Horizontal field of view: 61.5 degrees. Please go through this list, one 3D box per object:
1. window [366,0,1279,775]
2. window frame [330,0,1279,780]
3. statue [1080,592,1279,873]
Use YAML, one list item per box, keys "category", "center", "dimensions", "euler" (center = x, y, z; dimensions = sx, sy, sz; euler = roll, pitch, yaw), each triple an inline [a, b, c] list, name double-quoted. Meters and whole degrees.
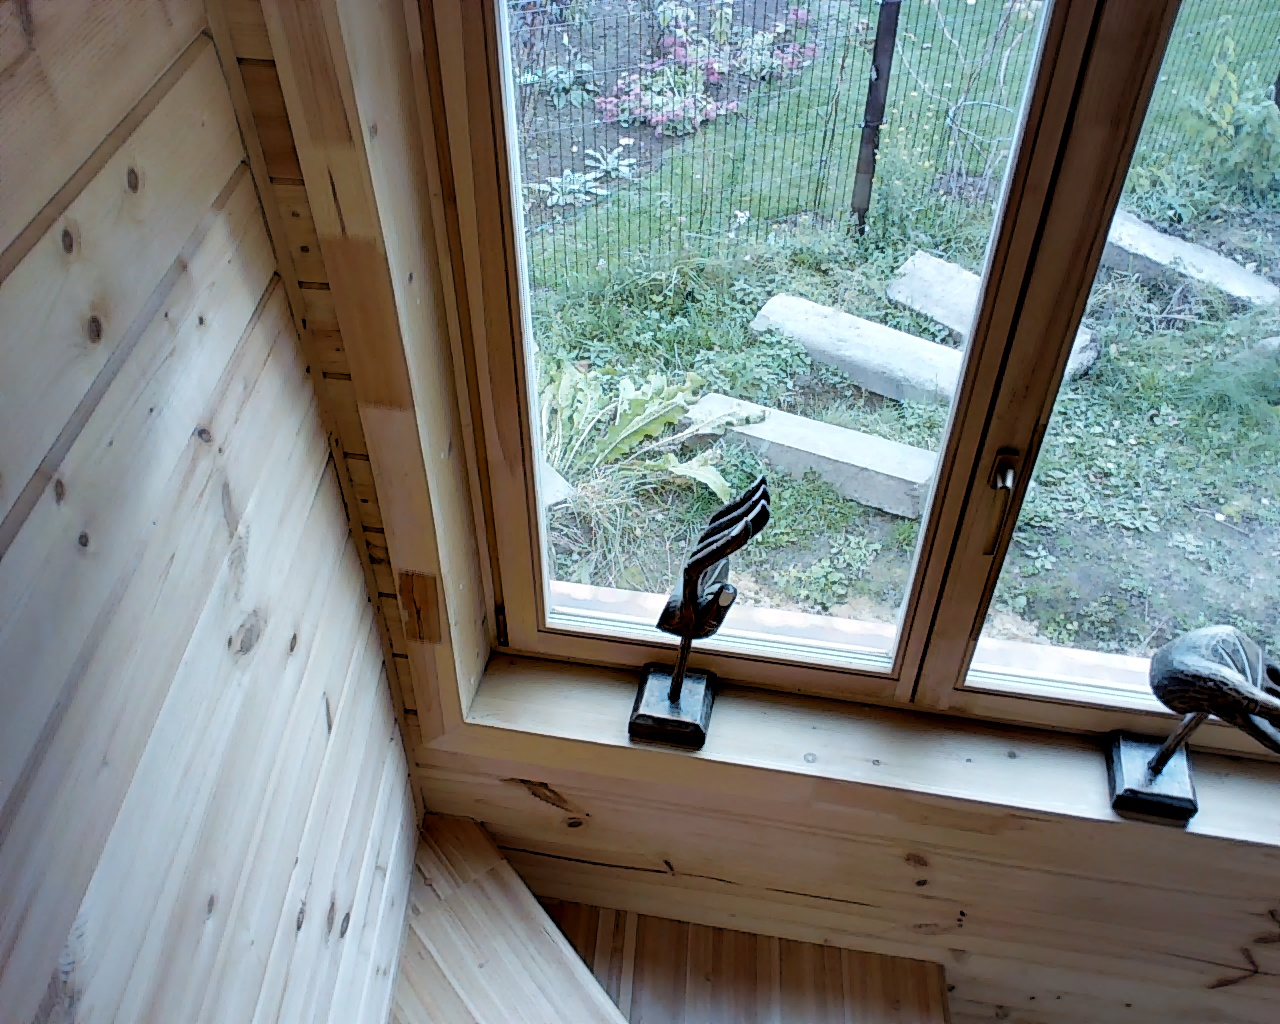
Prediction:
- category: "window"
  center: [0.450, -0.140, 1.360]
  dimensions: [1.410, 1.340, 0.150]
  euler: [2, 42, 1]
- category: "window frame"
  center: [0.440, -0.150, 1.380]
  dimensions: [1.450, 1.330, 0.210]
  euler: [2, 42, 1]
- category: "statue"
  center: [0.900, 0.330, 1.550]
  dimensions: [0.390, 0.350, 0.200]
  euler: [6, 42, 6]
